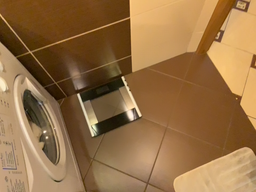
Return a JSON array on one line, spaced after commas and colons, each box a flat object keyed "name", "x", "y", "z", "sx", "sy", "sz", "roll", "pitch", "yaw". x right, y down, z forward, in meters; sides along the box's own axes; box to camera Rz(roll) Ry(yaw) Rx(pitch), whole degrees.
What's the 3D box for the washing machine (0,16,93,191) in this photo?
[{"name": "washing machine", "x": -0.520, "y": 0.180, "z": 0.830, "sx": 0.460, "sy": 0.830, "sz": 0.610, "roll": -20, "pitch": 70, "yaw": -7}]
